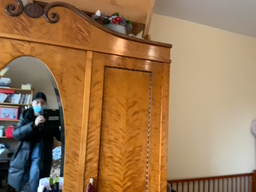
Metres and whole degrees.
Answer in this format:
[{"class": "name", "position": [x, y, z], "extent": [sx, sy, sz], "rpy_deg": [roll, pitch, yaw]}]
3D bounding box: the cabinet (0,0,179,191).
[{"class": "cabinet", "position": [-0.670, 0.510, 1.360], "extent": [1.840, 2.160, 0.690], "rpy_deg": [5, -6, -22]}]
